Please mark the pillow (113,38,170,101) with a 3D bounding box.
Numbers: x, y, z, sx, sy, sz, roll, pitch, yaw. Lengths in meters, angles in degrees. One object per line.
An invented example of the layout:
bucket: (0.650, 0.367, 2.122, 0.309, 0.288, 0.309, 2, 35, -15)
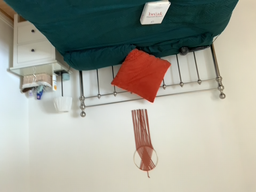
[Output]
pillow: (0.150, -0.250, 2.230, 0.490, 0.500, 0.340, -10, 168, 13)
